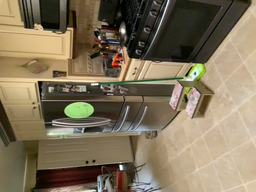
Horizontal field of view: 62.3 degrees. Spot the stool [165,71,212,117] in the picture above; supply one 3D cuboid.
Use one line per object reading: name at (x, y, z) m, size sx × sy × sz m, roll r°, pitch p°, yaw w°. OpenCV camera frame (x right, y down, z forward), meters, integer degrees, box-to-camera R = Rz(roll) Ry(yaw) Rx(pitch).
stool at (0.700, -0.030, 2.540) m, size 0.380 × 0.300 × 0.410 m, roll -115°, pitch 30°, yaw -54°
